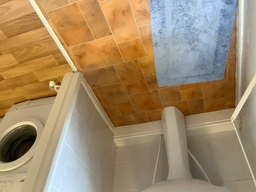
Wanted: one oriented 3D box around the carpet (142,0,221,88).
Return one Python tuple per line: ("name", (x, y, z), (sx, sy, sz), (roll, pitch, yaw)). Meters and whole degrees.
("carpet", (0.360, -0.390, 1.350), (0.420, 0.060, 0.800), (-10, 134, 13))
